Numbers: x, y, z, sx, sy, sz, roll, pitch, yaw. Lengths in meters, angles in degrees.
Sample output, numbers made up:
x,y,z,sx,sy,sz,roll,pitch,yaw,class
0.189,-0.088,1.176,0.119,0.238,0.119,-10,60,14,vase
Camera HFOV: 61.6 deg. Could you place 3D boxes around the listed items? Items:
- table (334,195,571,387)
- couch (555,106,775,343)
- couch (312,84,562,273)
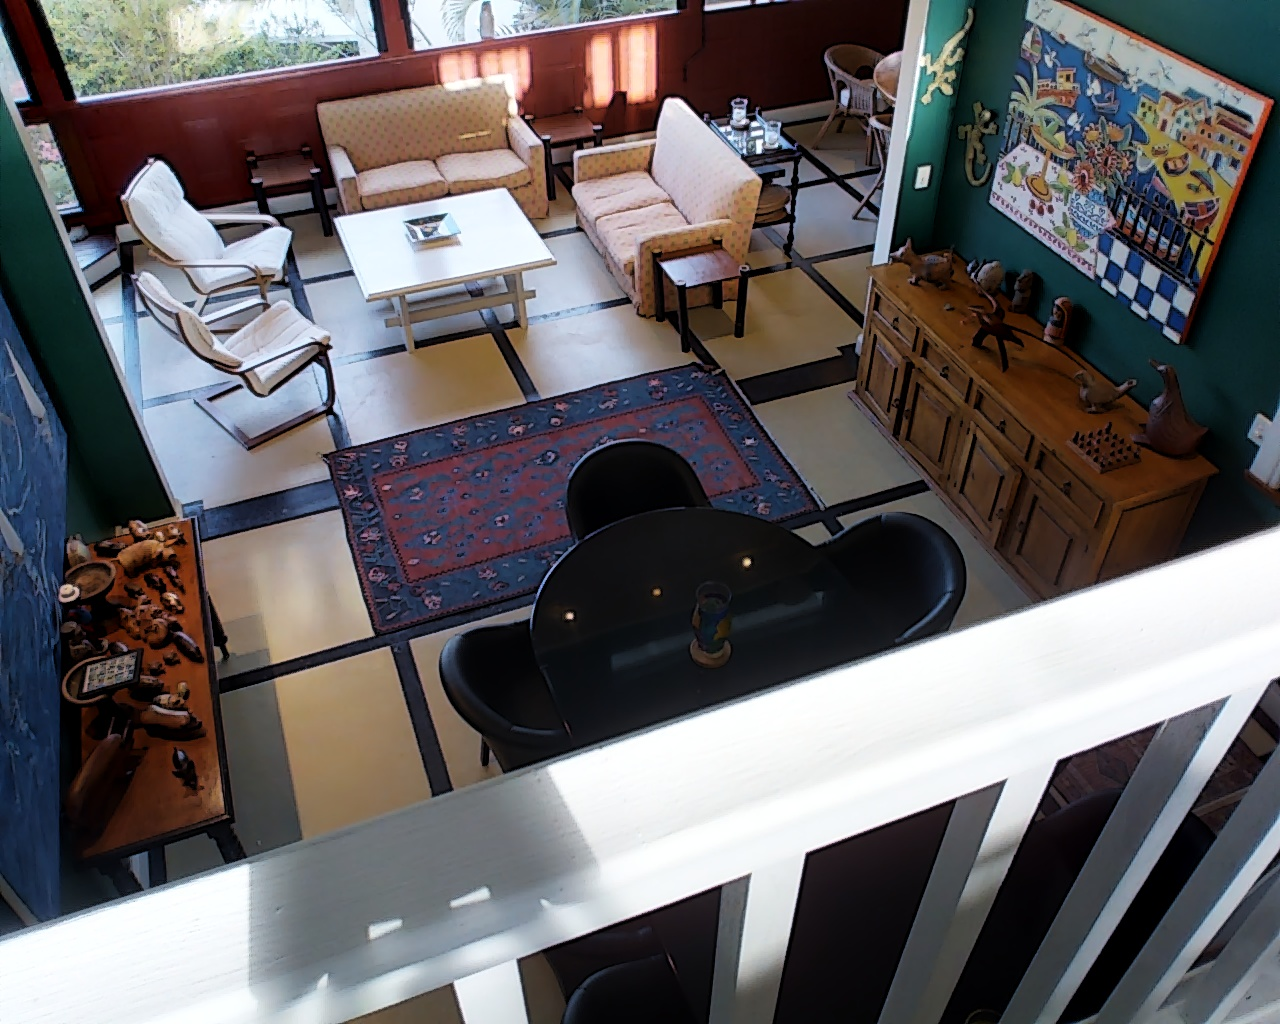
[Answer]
x,y,z,sx,sy,sz,roll,pitch,yaw,class
-1.260,-1.510,7.150,1.250,0.530,1.210,-15,43,-15,table
0.130,-2.050,7.480,0.940,0.860,1.620,-15,43,-15,couch
-1.520,-2.549,8.130,1.600,0.830,0.930,-15,43,-15,couch
